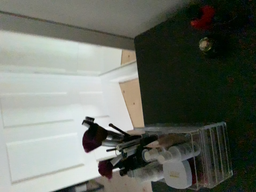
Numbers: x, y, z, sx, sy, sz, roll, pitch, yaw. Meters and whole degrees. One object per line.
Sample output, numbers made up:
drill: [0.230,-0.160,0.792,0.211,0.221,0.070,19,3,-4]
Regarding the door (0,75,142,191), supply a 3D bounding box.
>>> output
door: [-0.730,0.220,1.230,0.030,1.960,0.750,-34,68,44]
